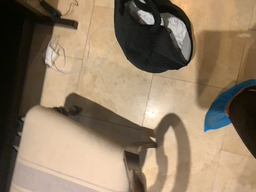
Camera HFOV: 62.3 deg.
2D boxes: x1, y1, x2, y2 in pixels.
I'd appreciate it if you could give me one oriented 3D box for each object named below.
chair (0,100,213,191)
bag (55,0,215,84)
[{"bbox_3d":[-0.160,0.320,0.740,0.630,0.840,0.480,11,92,10],"label":"chair"},{"bbox_3d":[0.050,-0.320,0.900,0.440,0.420,0.320,35,96,8],"label":"bag"}]
